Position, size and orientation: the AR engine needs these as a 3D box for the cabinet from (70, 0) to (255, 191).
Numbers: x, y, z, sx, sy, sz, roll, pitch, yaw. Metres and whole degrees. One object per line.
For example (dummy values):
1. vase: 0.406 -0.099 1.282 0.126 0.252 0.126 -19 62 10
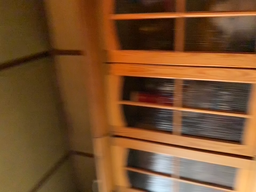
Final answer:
1. cabinet: 0.240 0.000 1.060 0.360 0.850 2.790 -48 -40 -60
